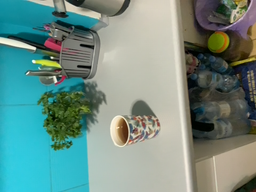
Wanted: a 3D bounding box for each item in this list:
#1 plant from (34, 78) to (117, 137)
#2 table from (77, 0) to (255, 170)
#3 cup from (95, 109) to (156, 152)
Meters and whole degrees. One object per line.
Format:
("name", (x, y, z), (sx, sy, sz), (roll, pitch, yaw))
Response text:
("plant", (-0.190, 0.040, 0.790), (0.140, 0.260, 0.180), (-6, 85, 50))
("table", (0.280, -0.180, 1.000), (0.500, 0.850, 0.770), (-10, 82, 50))
("cup", (-0.010, 0.090, 0.600), (0.130, 0.110, 0.100), (-7, 84, 50))
